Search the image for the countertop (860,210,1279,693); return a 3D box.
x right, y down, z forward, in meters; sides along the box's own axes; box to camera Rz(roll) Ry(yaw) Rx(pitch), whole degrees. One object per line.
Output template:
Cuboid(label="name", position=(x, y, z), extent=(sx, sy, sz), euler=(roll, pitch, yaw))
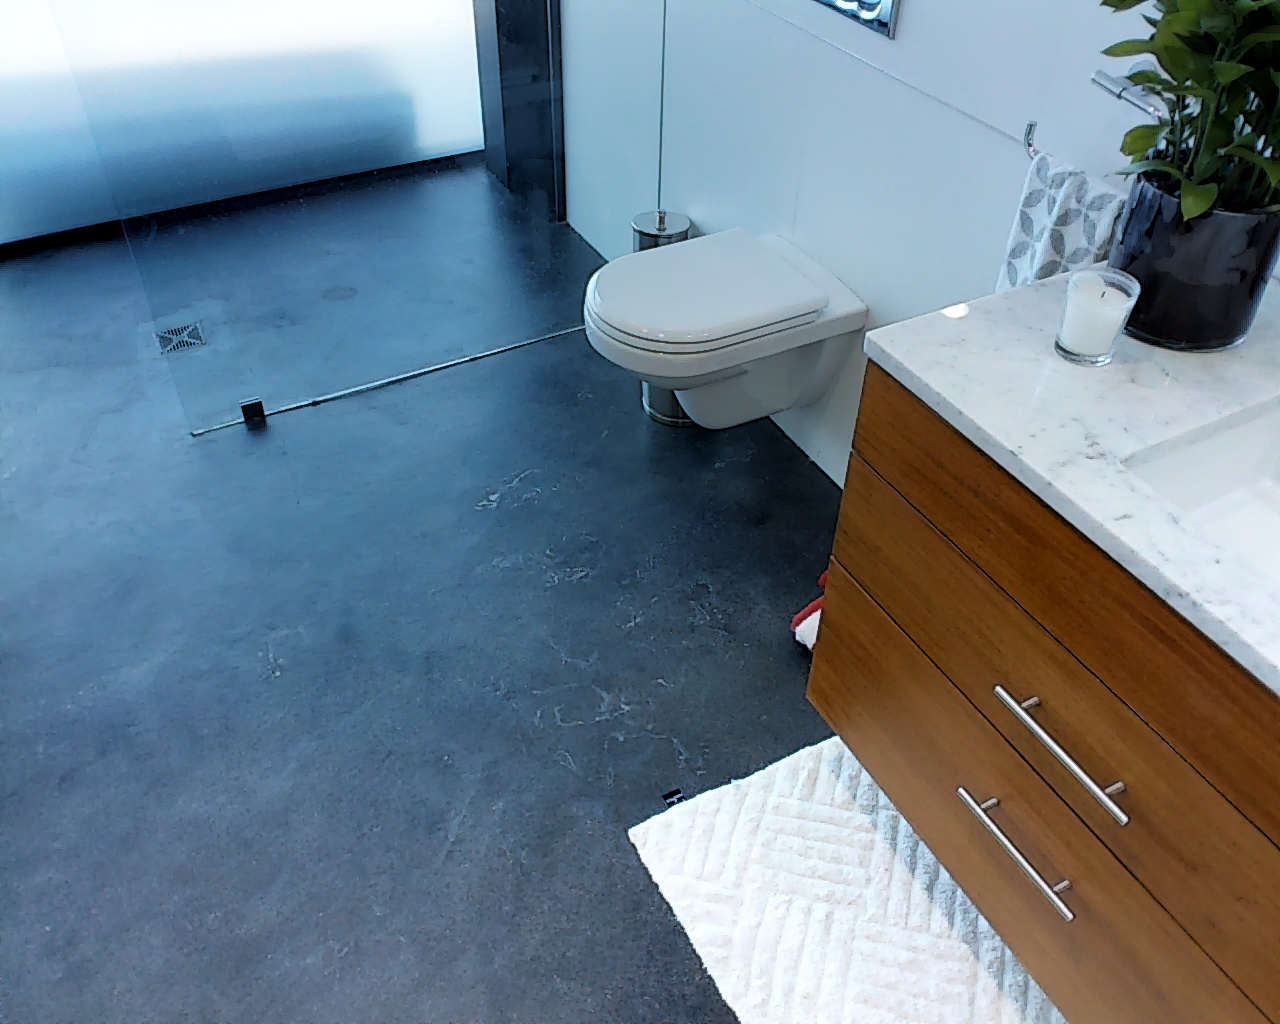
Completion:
Cuboid(label="countertop", position=(0.740, -0.030, 1.090), extent=(0.570, 0.050, 0.950), euler=(-18, 45, -20))

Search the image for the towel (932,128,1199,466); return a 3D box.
Cuboid(label="towel", position=(0.640, -0.330, 1.680), extent=(0.170, 0.430, 0.240), euler=(-18, 45, -20))

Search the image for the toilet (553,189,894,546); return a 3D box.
Cuboid(label="toilet", position=(0.160, -0.330, 2.370), extent=(0.550, 0.510, 0.440), euler=(-18, 45, -20))
